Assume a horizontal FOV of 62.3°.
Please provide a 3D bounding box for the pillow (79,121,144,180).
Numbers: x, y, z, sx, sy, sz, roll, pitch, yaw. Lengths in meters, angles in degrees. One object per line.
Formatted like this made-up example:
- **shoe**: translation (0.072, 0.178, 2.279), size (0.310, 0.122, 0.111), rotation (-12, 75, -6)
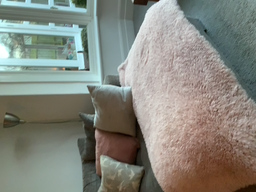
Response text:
- **pillow**: translation (-0.140, 0.480, 1.850), size (0.360, 0.420, 0.110), rotation (50, -159, -10)

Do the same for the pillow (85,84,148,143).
- **pillow**: translation (-0.080, 0.150, 1.690), size (0.140, 0.400, 0.380), rotation (-108, 1, -50)

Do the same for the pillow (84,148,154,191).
- **pillow**: translation (-0.070, 0.720, 1.780), size (0.390, 0.410, 0.160), rotation (49, -157, -8)
